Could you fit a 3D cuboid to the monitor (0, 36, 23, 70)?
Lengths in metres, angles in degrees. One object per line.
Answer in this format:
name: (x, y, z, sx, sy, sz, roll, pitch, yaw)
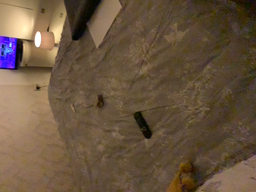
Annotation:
monitor: (-1.730, -0.610, 3.020, 0.030, 0.390, 0.480, 41, 129, 46)
